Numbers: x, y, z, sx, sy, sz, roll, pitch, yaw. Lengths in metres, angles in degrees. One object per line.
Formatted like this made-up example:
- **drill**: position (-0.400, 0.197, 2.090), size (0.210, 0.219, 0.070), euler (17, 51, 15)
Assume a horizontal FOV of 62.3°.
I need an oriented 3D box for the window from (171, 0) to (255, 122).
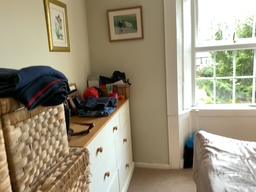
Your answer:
- **window**: position (1.150, -0.500, 2.510), size (1.210, 1.590, 0.260), euler (-1, 12, 16)
